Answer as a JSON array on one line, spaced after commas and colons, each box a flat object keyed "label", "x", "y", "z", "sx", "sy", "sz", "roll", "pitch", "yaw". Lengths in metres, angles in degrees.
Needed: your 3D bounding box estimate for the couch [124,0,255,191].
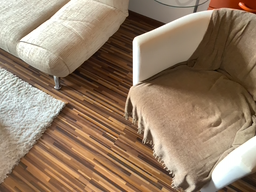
[{"label": "couch", "x": 0.430, "y": 0.040, "z": 1.060, "sx": 0.660, "sy": 0.620, "sz": 0.660, "roll": -24, "pitch": 60, "yaw": -14}]
